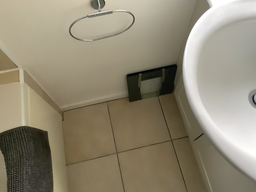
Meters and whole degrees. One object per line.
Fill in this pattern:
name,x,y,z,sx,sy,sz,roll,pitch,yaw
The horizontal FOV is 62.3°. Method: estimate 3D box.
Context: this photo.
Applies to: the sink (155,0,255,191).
sink,0.350,0.020,0.570,0.400,0.210,0.530,-13,67,-4
